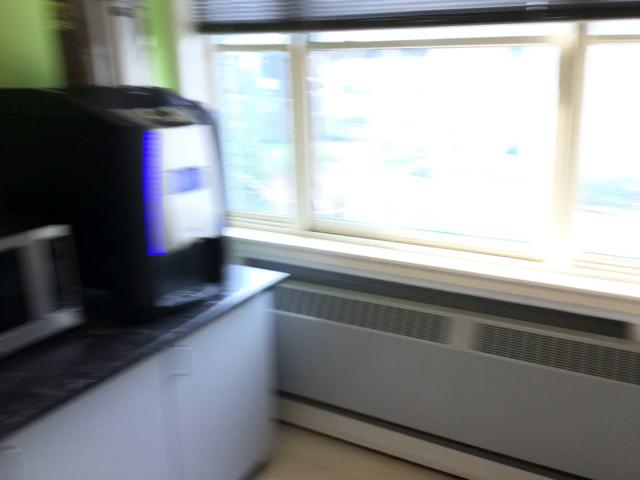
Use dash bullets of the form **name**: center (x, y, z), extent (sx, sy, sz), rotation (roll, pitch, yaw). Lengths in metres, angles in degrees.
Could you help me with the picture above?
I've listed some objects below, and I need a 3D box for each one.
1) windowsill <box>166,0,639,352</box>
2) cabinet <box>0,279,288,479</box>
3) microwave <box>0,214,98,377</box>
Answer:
- **windowsill**: center (0.370, -0.370, 2.310), extent (2.010, 1.290, 0.420), rotation (5, 15, 26)
- **cabinet**: center (-0.620, 0.760, 1.630), extent (0.140, 0.800, 1.830), rotation (5, 15, 26)
- **microwave**: center (-0.860, 0.170, 1.430), extent (0.110, 0.350, 0.640), rotation (5, 15, 26)
